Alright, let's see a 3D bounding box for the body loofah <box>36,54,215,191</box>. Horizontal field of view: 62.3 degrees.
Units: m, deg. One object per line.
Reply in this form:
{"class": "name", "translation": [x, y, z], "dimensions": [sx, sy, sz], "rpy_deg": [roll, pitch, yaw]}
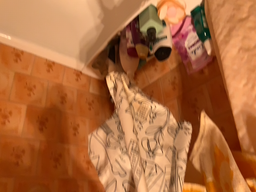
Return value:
{"class": "body loofah", "translation": [0.000, 0.310, 0.520], "dimensions": [0.330, 0.740, 0.350], "rpy_deg": [-3, 152, -1]}
